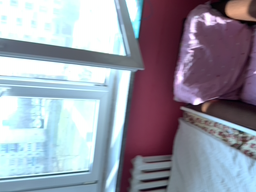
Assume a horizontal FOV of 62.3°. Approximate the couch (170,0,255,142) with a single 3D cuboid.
[{"bbox_3d":[0.760,-0.180,1.190,0.680,0.650,0.680,27,111,62],"label":"couch"}]
